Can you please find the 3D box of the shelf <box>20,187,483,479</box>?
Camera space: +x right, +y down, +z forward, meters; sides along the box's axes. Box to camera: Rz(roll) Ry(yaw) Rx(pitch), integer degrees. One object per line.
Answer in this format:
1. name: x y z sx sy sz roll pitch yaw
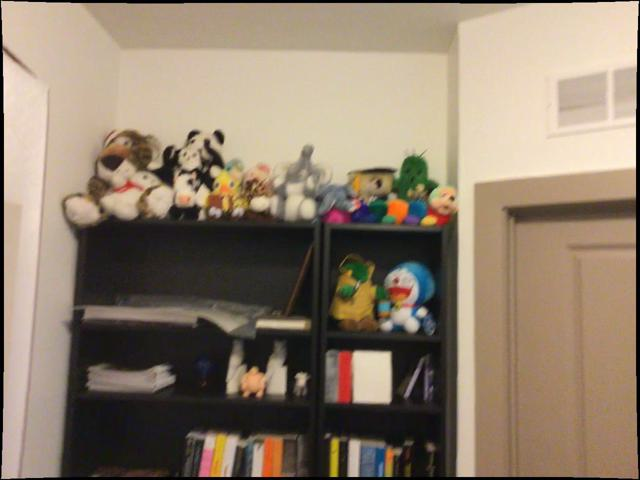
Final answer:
1. shelf: -0.209 0.872 1.810 1.267 1.975 0.460 2 -4 3
